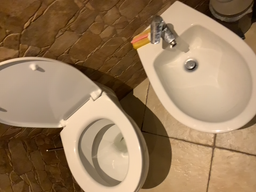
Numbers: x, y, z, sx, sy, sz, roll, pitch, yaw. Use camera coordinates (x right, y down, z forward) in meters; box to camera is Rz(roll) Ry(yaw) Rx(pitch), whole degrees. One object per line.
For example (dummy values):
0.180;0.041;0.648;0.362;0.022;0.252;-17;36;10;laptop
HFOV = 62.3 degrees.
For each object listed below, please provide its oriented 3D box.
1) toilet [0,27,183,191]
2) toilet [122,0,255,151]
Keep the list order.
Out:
-0.170;0.190;0.900;0.380;0.820;0.540;-40;67;16;toilet
0.290;-0.100;0.900;0.350;0.240;0.520;-40;67;16;toilet
